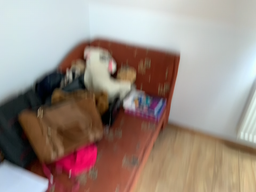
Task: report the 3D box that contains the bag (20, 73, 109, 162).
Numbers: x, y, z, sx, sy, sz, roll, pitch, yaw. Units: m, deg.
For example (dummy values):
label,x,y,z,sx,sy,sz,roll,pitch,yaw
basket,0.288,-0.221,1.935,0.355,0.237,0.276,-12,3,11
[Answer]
label,x,y,z,sx,sy,sz,roll,pitch,yaw
bag,-0.370,0.110,1.470,0.420,0.270,0.620,3,32,0
